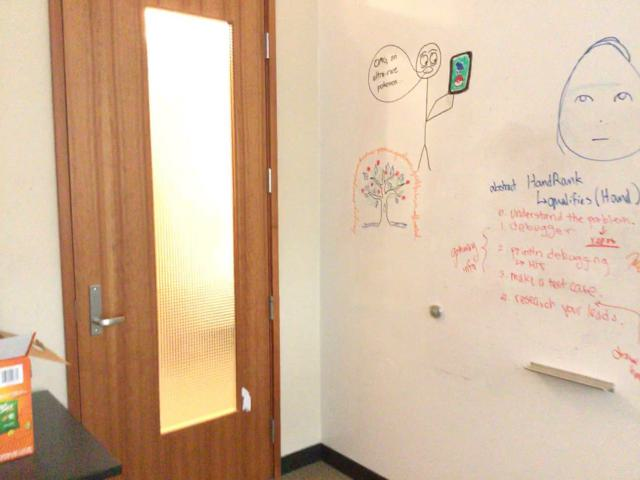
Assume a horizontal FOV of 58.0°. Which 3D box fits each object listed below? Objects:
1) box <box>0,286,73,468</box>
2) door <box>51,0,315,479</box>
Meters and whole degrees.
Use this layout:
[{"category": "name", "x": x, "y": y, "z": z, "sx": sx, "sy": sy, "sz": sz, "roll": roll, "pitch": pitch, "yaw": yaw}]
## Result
[{"category": "box", "x": -1.090, "y": 0.390, "z": 1.740, "sx": 0.480, "sy": 0.400, "sz": 0.650, "roll": -1, "pitch": 4, "yaw": -38}, {"category": "door", "x": -0.530, "y": 0.030, "z": 2.490, "sx": 1.120, "sy": 2.420, "sz": 0.160, "roll": -1, "pitch": 4, "yaw": -38}]
